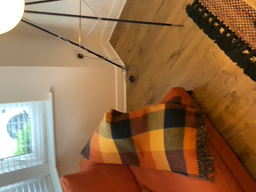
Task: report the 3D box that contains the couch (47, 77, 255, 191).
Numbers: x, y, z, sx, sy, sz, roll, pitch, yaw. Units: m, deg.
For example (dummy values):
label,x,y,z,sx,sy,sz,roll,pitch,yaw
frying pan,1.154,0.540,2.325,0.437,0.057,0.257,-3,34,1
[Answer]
label,x,y,z,sx,sy,sz,roll,pitch,yaw
couch,0.110,0.630,1.450,1.030,0.850,1.090,60,137,29
